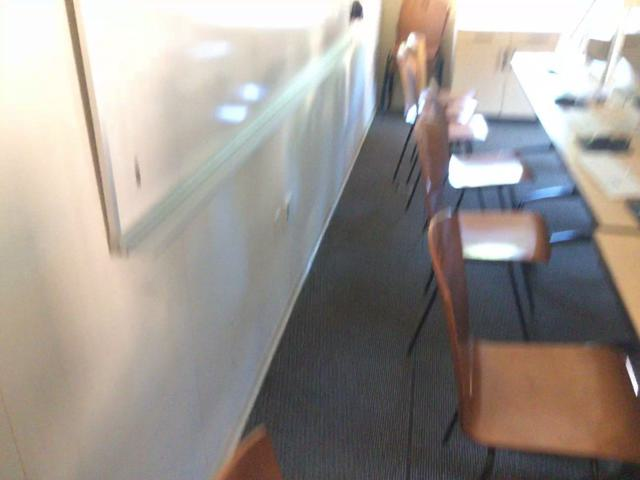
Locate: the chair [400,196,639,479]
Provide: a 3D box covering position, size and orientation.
[{"bbox_3d":[0.510,0.370,1.390,0.600,0.800,0.500,3,25,10],"label":"chair"}]

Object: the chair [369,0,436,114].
[{"bbox_3d":[0.730,-1.670,5.100,0.520,1.000,0.500,4,25,10],"label":"chair"}]

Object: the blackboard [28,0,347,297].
[{"bbox_3d":[-0.140,-1.030,1.860,0.110,1.330,2.520,3,25,10],"label":"blackboard"}]

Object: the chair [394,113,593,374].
[{"bbox_3d":[0.590,-0.010,2.160,0.560,0.810,0.500,3,25,10],"label":"chair"}]

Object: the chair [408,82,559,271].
[{"bbox_3d":[0.730,-0.320,2.740,0.560,0.750,0.510,3,25,10],"label":"chair"}]
